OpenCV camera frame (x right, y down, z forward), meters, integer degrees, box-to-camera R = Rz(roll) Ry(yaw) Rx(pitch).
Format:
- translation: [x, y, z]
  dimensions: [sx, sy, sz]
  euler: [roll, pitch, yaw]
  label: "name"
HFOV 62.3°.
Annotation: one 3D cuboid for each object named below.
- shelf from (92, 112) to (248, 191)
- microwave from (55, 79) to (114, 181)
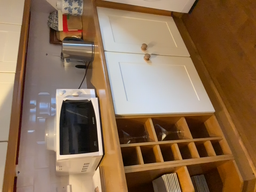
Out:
- translation: [0.230, 0.400, 1.470]
  dimensions: [0.580, 0.840, 0.310]
  euler: [117, 147, -51]
  label: "shelf"
- translation: [-0.340, 0.230, 1.490]
  dimensions: [0.390, 0.320, 0.570]
  euler: [117, 147, -51]
  label: "microwave"
